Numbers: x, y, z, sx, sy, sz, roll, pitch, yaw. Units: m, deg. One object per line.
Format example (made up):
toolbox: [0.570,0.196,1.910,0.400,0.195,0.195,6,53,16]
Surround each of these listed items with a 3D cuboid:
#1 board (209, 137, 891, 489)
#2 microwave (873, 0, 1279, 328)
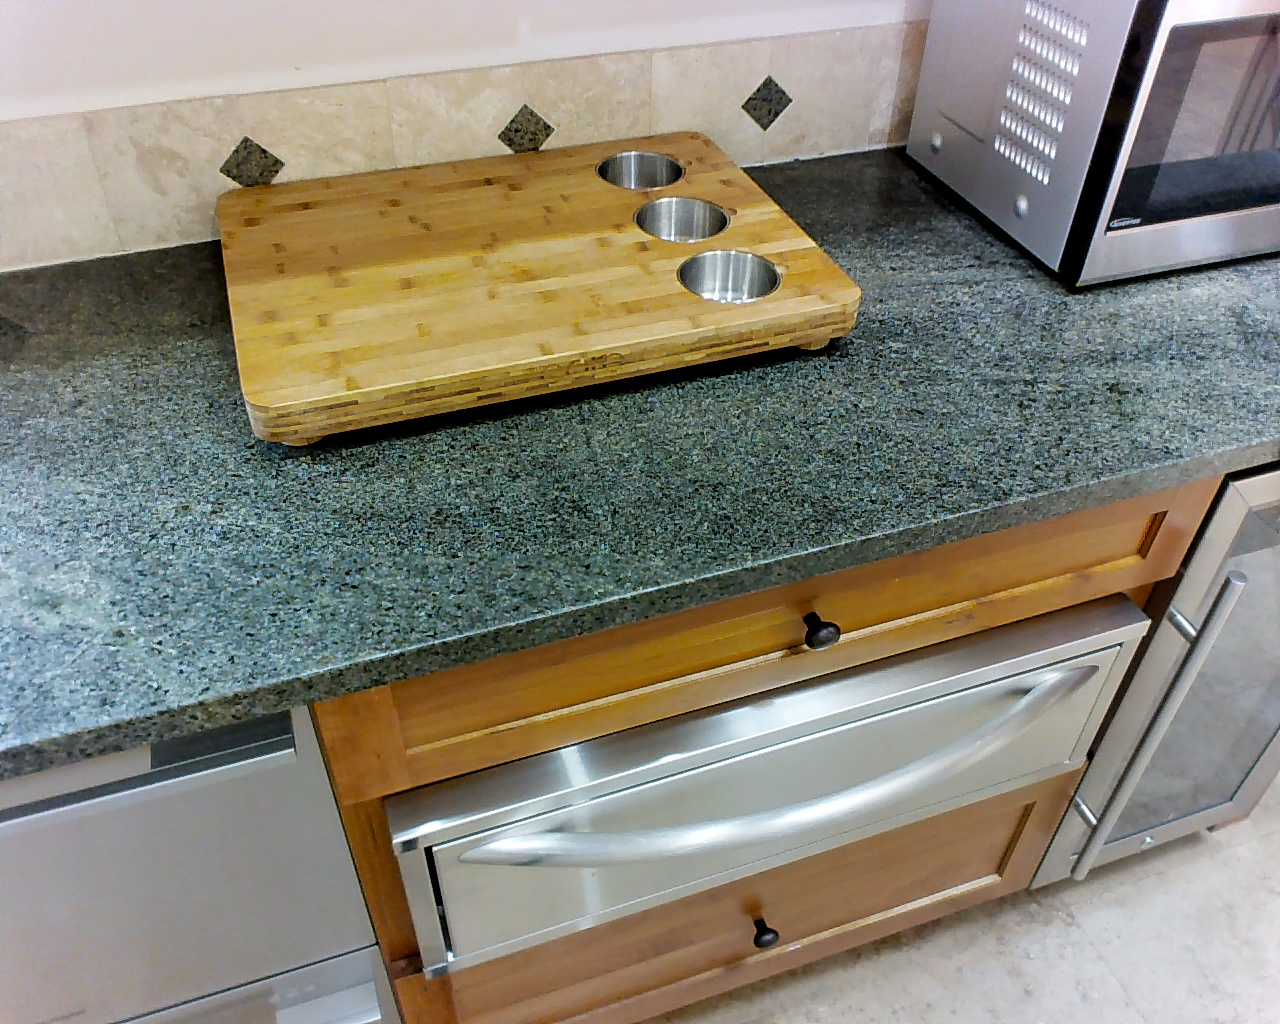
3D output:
board: [-0.110,-0.230,1.060,0.570,0.060,0.410,-13,43,-15]
microwave: [0.640,-0.500,1.190,0.580,0.340,0.400,-12,43,-15]
